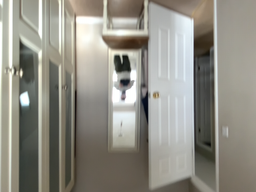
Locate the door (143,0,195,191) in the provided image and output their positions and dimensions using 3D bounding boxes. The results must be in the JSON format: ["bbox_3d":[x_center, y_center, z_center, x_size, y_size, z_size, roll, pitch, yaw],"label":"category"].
[{"bbox_3d":[0.520,-0.050,2.570,0.840,2.150,0.080,1,178,-40],"label":"door"}]

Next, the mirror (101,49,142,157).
[{"bbox_3d":[-0.080,0.080,2.730,0.470,1.340,0.140,3,175,-5],"label":"mirror"}]

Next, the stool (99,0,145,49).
[{"bbox_3d":[-0.060,-0.830,2.430,0.480,0.470,0.440,0,178,1],"label":"stool"}]
